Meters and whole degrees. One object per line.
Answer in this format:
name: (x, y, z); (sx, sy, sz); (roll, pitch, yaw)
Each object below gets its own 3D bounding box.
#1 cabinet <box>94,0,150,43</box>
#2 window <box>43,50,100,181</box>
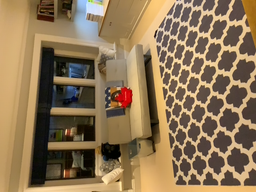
cabinet: (-0.150, -1.990, 4.570); (1.900, 0.810, 0.600); (133, 136, -62)
window: (-1.160, 0.300, 4.550); (0.130, 1.040, 2.750); (133, 137, -62)
